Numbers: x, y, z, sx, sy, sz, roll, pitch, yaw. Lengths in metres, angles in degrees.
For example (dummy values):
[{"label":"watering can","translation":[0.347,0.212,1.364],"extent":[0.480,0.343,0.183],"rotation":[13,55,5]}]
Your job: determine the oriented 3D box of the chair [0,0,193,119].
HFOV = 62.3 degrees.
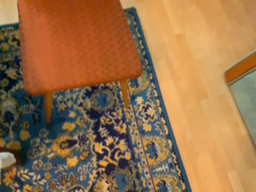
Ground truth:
[{"label":"chair","translation":[-0.200,-0.300,0.860],"extent":[0.430,0.790,0.570],"rotation":[-10,75,-14]}]
